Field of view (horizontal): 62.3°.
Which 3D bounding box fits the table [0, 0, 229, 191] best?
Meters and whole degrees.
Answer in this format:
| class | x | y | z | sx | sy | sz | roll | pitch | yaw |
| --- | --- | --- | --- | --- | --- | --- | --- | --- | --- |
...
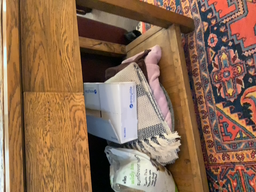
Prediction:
| class | x | y | z | sx | sy | sz | roll | pitch | yaw |
| --- | --- | --- | --- | --- | --- | --- | --- | --- | --- |
| table | -0.070 | 0.370 | 0.890 | 0.530 | 0.860 | 1.650 | -19 | 74 | 51 |
